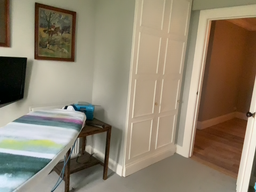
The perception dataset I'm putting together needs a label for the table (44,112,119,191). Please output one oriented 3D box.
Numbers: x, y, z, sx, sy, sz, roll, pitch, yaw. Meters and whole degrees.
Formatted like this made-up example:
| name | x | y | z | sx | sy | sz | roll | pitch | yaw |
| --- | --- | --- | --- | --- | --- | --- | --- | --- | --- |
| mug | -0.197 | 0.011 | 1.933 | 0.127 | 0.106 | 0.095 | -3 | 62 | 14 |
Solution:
| name | x | y | z | sx | sy | sz | roll | pitch | yaw |
| --- | --- | --- | --- | --- | --- | --- | --- | --- | --- |
| table | -0.530 | 0.600 | 2.380 | 0.620 | 0.650 | 0.530 | -5 | 14 | -41 |
